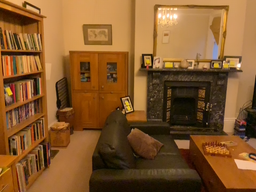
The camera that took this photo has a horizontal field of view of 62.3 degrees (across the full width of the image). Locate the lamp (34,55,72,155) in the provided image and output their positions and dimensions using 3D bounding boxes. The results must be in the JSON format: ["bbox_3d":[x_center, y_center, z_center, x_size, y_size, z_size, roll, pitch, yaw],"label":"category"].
[{"bbox_3d":[-1.110,0.120,3.240,0.340,1.450,0.480,1,11,0],"label":"lamp"}]

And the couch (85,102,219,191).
[{"bbox_3d":[0.220,0.630,2.510,1.060,0.760,1.540,2,11,3],"label":"couch"}]
